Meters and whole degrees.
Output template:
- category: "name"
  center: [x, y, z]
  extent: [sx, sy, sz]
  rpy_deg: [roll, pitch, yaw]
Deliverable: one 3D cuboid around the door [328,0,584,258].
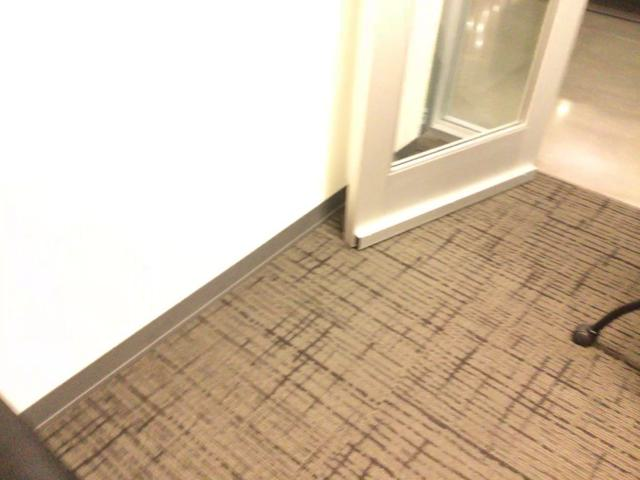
- category: "door"
  center: [0.460, -0.910, 1.510]
  extent: [0.860, 2.040, 0.150]
  rpy_deg: [-22, 45, -26]
